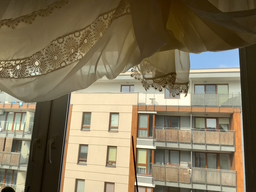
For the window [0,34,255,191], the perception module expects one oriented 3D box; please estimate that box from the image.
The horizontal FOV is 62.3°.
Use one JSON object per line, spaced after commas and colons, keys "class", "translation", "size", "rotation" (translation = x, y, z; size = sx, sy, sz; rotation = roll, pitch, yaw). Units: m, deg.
{"class": "window", "translation": [-0.520, 0.320, 1.270], "size": [2.250, 1.240, 0.220], "rotation": [1, -11, 14]}
